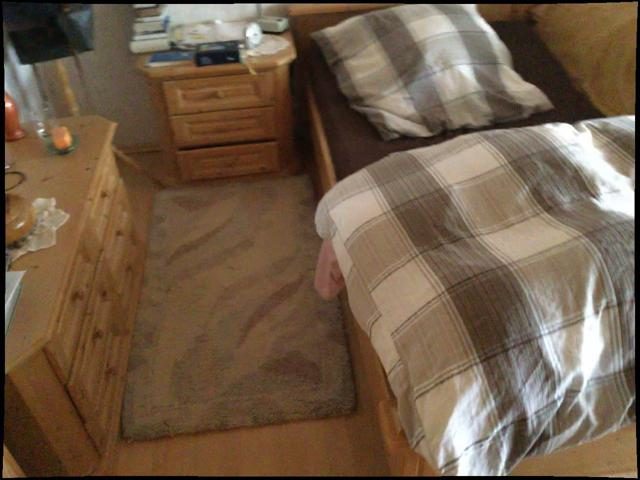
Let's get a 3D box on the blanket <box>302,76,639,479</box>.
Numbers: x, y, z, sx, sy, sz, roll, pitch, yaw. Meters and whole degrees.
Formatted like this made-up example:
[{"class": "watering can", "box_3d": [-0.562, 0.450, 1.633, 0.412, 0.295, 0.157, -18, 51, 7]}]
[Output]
[{"class": "blanket", "box_3d": [0.759, 0.020, 1.250, 1.509, 0.320, 0.970, -6, 41, -2]}]
